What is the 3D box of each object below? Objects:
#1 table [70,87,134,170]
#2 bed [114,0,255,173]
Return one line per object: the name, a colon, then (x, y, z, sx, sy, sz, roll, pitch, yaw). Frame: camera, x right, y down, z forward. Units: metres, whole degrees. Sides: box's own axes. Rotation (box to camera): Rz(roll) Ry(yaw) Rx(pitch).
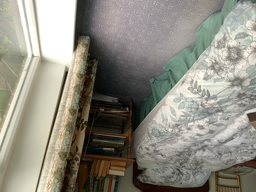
table: (-0.260, 0.350, 2.150, 0.500, 0.650, 0.500, 10, 150, -13)
bed: (0.690, 0.130, 1.730, 1.150, 0.580, 1.970, 10, 150, -13)
